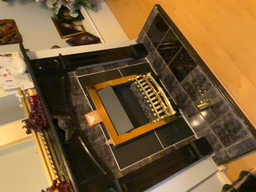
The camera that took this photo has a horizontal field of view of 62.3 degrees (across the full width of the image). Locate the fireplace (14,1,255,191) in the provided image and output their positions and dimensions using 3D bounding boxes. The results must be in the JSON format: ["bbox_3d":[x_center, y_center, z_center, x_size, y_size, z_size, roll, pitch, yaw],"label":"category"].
[{"bbox_3d":[0.020,0.030,1.570,1.420,1.170,0.580,60,147,20],"label":"fireplace"}]
